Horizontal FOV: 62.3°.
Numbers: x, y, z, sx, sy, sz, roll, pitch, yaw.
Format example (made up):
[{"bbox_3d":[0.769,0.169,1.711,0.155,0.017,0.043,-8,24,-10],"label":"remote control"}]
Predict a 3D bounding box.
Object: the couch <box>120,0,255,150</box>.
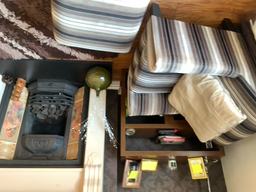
[{"bbox_3d":[0.430,-0.110,1.630,0.860,0.830,0.770,5,151,-10],"label":"couch"}]
